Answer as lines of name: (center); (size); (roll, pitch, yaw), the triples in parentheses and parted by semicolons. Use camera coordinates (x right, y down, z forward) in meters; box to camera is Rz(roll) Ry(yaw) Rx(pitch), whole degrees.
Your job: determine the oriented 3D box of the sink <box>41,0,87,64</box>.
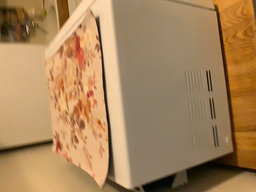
sink: (-0.570, -0.580, 1.840); (0.450, 0.210, 0.510); (-10, 87, 57)
